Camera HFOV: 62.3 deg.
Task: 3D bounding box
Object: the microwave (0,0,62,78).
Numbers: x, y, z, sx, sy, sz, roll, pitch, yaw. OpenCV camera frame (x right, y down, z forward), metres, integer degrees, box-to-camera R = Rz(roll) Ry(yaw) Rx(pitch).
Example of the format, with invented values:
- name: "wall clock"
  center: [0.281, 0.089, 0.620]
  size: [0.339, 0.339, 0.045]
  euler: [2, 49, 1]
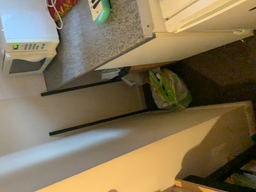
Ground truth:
- name: "microwave"
  center: [-0.650, -0.380, 1.300]
  size: [0.480, 0.260, 0.410]
  euler: [-15, 88, 55]
